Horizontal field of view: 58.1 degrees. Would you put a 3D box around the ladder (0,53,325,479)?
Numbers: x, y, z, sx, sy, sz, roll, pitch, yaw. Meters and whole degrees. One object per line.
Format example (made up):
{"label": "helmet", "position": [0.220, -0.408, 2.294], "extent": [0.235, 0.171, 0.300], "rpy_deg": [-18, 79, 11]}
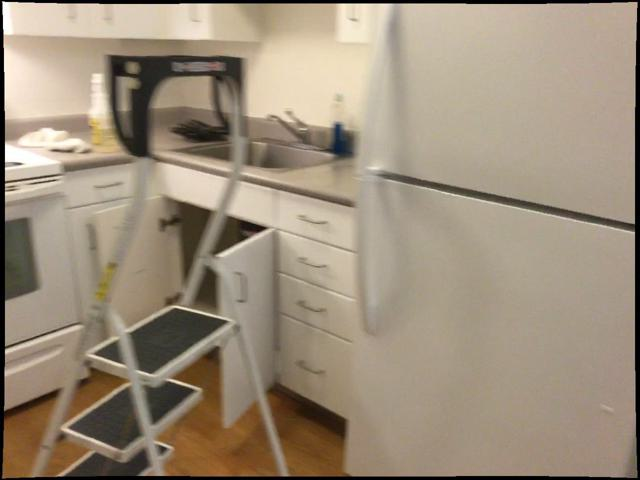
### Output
{"label": "ladder", "position": [-0.459, 0.251, 1.440], "extent": [0.659, 1.353, 0.649], "rpy_deg": [-15, 25, -39]}

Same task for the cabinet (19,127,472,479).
{"label": "cabinet", "position": [-0.379, 0.110, 2.470], "extent": [1.658, 0.922, 0.959], "rpy_deg": [17, 25, 39]}

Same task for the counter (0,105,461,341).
{"label": "counter", "position": [-0.858, -0.231, 1.970], "extent": [1.768, 0.170, 2.188], "rpy_deg": [17, 25, 39]}
